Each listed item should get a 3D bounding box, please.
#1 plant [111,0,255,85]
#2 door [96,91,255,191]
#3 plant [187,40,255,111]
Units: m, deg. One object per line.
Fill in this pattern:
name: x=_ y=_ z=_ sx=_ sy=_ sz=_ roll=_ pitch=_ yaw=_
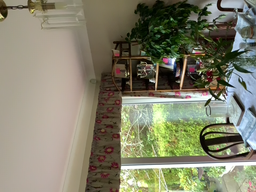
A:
plant: x=0.750 y=-0.690 z=2.650 sx=0.630 sy=1.840 sz=0.850 roll=-92 pitch=0 yaw=-52
door: x=0.730 y=0.810 z=2.700 sx=2.470 sy=2.190 sz=0.130 roll=-92 pitch=0 yaw=-49
plant: x=0.720 y=-0.170 z=1.570 sx=0.470 sy=0.400 sz=0.320 roll=-92 pitch=0 yaw=-55
